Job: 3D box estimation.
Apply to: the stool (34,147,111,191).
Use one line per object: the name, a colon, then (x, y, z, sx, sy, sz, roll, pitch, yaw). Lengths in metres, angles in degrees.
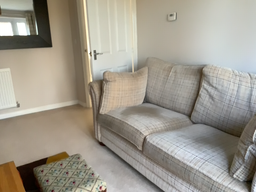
stool: (-0.390, 0.630, 1.470, 0.370, 0.300, 0.450, -11, 18, -32)
